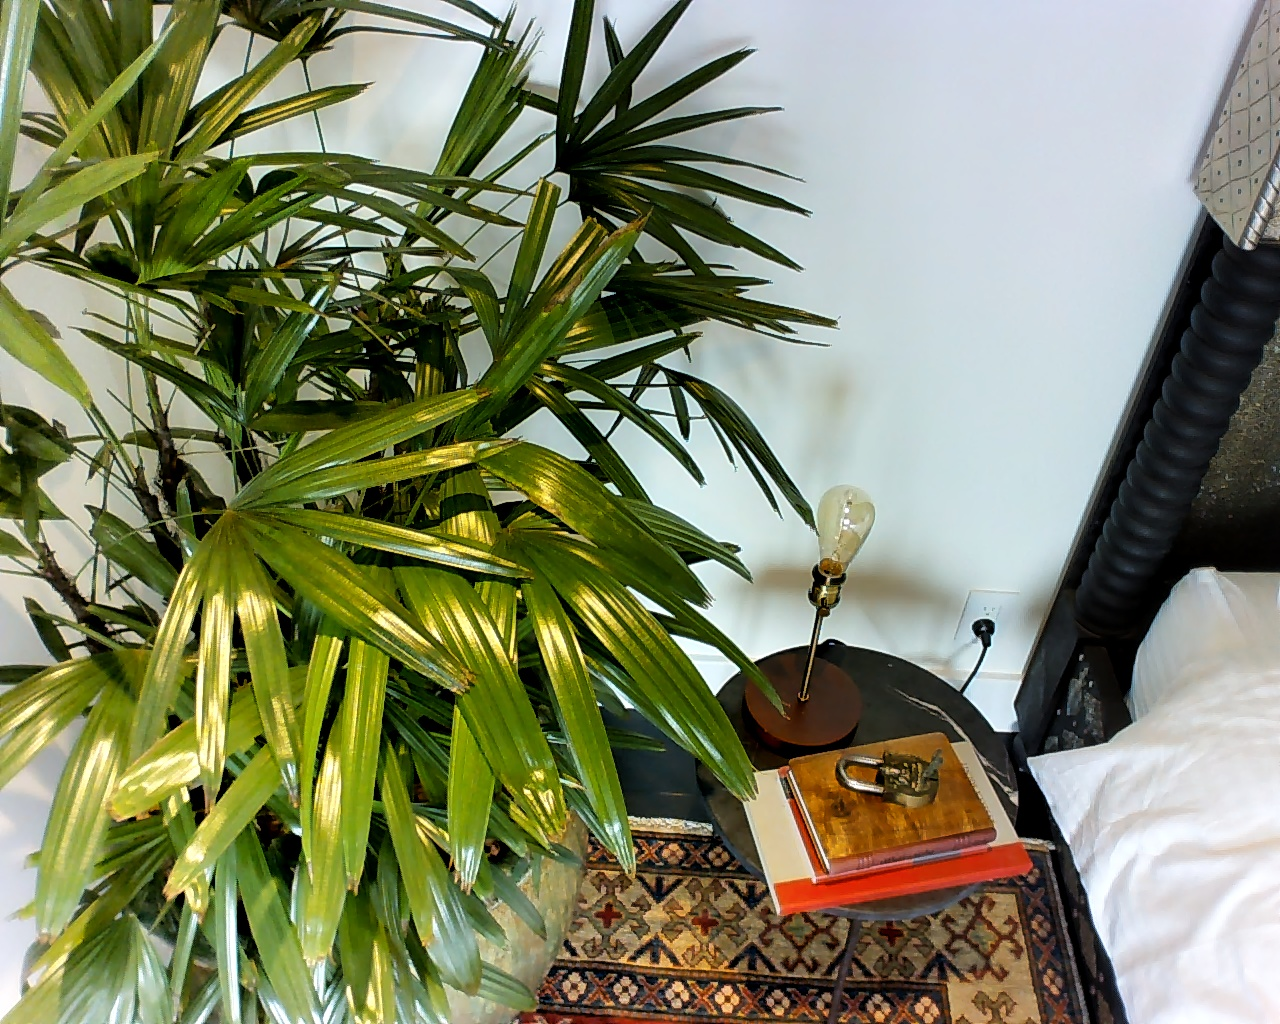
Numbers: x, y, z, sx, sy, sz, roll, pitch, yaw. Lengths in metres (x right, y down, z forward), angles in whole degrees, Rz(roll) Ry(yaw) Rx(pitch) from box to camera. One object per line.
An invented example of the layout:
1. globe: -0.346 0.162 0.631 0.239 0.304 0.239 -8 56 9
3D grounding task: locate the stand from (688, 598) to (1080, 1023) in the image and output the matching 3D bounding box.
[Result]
1. stand: 0.290 0.440 1.500 0.420 0.400 0.470 3 42 3
